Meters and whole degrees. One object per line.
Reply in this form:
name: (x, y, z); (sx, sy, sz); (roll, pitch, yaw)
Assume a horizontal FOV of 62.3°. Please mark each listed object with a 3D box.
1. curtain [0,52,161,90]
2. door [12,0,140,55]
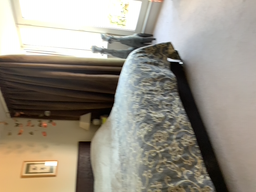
curtain: (-0.710, -0.340, 3.120); (0.430, 2.370, 0.190); (114, 156, -58)
door: (-0.790, -1.560, 3.350); (2.060, 1.950, 0.110); (109, 160, -50)
